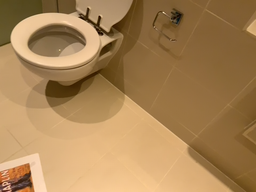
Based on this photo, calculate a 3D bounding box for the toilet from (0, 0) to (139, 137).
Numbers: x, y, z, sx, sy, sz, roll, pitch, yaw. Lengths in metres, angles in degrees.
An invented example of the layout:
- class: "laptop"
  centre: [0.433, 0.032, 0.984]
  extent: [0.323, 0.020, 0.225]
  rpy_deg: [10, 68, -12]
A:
- class: "toilet"
  centre: [-0.310, -0.270, 1.020]
  extent: [0.400, 0.780, 0.500]
  rpy_deg: [38, 52, 14]
